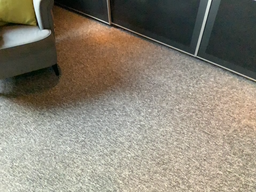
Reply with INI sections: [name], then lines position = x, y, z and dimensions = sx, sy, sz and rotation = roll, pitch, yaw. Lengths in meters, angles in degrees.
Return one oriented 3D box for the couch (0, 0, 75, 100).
[couch]
position = -0.990, -0.670, 1.610
dimensions = 0.780, 0.970, 0.930
rotation = -18, 51, -13
